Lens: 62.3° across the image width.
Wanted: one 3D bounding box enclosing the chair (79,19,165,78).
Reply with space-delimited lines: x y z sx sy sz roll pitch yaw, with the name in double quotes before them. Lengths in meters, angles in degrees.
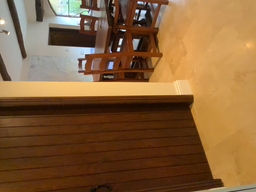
"chair" -0.120 -0.630 2.930 0.490 1.040 0.550 114 151 -55
